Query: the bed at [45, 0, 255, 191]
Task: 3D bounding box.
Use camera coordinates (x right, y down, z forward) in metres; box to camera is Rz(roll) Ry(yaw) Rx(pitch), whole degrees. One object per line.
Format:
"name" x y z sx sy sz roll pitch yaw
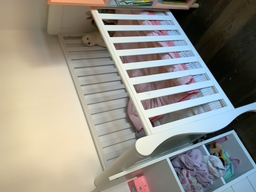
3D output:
"bed" 0.080 -0.230 1.710 1.460 1.070 0.750 66 147 23
